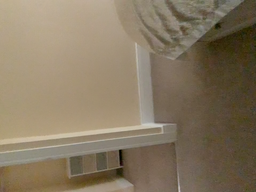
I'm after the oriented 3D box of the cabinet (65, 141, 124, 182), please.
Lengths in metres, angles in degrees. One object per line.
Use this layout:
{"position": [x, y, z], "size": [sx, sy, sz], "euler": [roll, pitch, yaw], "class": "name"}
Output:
{"position": [-0.470, 0.870, 2.920], "size": [0.360, 0.700, 0.400], "euler": [152, 113, -64], "class": "cabinet"}
